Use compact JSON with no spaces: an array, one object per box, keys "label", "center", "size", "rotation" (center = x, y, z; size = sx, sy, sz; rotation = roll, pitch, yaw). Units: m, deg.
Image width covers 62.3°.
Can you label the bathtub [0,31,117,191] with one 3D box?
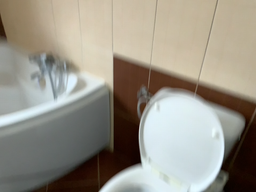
[{"label":"bathtub","center":[-1.020,0.150,1.450],"size":[1.350,0.660,1.300],"rotation":[24,37,29]}]
